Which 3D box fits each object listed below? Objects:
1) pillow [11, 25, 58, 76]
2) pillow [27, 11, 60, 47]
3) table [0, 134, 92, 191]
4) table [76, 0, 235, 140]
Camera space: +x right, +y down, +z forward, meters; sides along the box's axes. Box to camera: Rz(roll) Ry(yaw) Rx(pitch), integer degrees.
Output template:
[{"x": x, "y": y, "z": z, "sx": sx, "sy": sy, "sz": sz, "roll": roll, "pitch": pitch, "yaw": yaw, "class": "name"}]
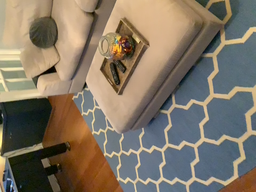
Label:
[{"x": -1.060, "y": -0.510, "z": 2.420, "sx": 0.130, "sy": 0.440, "sz": 0.430, "roll": -37, "pitch": 61, "yaw": -3, "class": "pillow"}, {"x": -0.950, "y": -0.740, "z": 2.380, "sx": 0.260, "sy": 0.230, "sz": 0.270, "roll": 55, "pitch": 133, "yaw": 26, "class": "pillow"}, {"x": -1.200, "y": 1.580, "z": 3.070, "sx": 1.530, "sy": 0.910, "sz": 1.080, "roll": 52, "pitch": 131, "yaw": 29, "class": "table"}, {"x": 0.080, "y": -0.320, "z": 1.690, "sx": 0.730, "sy": 0.410, "sz": 1.150, "roll": 54, "pitch": 132, "yaw": 27, "class": "table"}]
